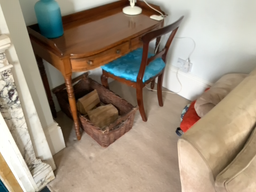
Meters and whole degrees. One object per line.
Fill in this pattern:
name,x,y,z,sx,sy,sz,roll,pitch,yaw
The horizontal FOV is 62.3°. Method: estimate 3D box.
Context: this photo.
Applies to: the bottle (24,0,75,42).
bottle,-0.510,-0.560,1.360,0.230,0.310,0.190,33,49,31
